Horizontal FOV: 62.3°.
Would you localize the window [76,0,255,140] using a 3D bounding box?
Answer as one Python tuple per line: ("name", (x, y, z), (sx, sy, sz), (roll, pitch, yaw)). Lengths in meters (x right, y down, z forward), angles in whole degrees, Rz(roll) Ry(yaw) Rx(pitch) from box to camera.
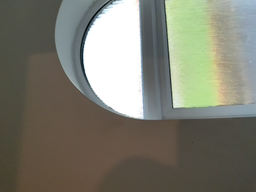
("window", (0.270, -0.180, 0.880), (0.070, 0.940, 0.670), (69, -161, -70))
